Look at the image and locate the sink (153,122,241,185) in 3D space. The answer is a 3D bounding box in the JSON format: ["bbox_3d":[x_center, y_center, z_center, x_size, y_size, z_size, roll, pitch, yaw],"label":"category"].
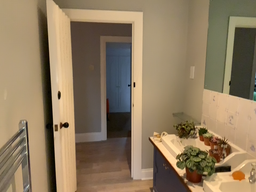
[{"bbox_3d":[0.580,0.490,2.010,0.480,0.260,0.760,-1,10,-9],"label":"sink"}]
